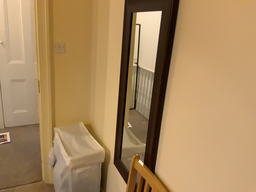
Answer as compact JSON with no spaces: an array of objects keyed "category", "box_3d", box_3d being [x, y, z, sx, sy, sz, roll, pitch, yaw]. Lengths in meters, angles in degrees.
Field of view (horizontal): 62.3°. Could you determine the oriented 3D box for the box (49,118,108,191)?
[{"category":"box","box_3d":[-0.450,0.610,1.820,0.330,0.640,0.550,-5,20,-29]}]
